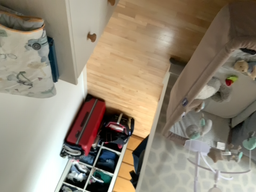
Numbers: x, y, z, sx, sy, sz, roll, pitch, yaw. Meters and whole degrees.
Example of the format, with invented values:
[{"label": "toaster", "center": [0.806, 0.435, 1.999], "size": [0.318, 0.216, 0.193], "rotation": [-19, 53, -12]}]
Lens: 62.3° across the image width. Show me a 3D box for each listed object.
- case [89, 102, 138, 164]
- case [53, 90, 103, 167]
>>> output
[{"label": "case", "center": [-0.240, 0.590, 3.260], "size": [0.520, 0.610, 0.700], "rotation": [19, 150, 0]}, {"label": "case", "center": [-0.690, 0.500, 3.110], "size": [0.330, 0.840, 0.820], "rotation": [19, 150, 0]}]
